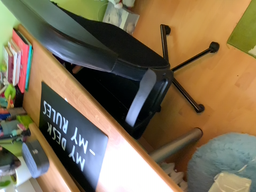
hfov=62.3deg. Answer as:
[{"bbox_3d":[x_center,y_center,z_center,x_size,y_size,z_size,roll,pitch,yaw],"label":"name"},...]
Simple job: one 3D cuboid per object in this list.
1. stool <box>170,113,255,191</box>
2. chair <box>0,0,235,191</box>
[{"bbox_3d":[0.590,0.450,1.160,0.480,0.290,0.460,42,124,28],"label":"stool"},{"bbox_3d":[-0.090,-0.060,1.140,0.700,1.080,0.680,36,121,31],"label":"chair"}]
